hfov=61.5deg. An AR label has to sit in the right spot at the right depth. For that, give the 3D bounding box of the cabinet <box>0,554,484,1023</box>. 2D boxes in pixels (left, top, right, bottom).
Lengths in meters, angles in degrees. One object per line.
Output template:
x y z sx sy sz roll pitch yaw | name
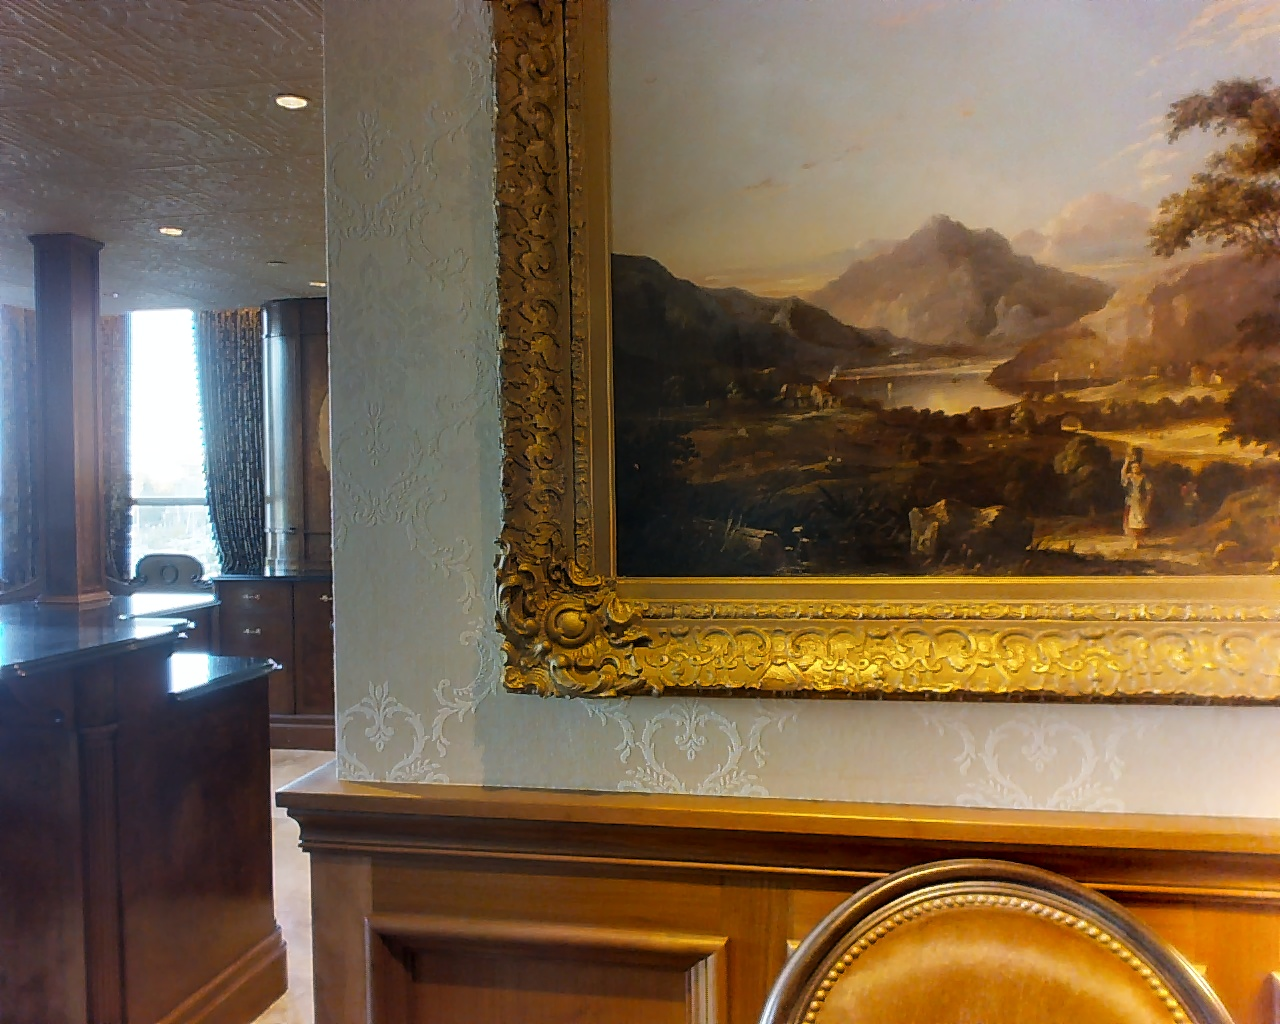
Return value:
-2.010 0.780 3.460 2.260 1.110 2.590 0 2 10 | cabinet

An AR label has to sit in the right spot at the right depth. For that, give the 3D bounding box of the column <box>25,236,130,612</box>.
-2.379 -0.360 4.560 0.260 1.540 0.250 0 2 10 | column

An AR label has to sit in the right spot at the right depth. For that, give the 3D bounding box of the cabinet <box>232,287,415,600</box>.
-1.820 -0.380 6.240 0.870 1.720 0.470 0 2 10 | cabinet

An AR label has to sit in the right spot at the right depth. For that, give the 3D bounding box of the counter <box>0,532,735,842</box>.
-1.760 0.580 5.050 4.149 0.840 2.700 0 2 10 | counter
